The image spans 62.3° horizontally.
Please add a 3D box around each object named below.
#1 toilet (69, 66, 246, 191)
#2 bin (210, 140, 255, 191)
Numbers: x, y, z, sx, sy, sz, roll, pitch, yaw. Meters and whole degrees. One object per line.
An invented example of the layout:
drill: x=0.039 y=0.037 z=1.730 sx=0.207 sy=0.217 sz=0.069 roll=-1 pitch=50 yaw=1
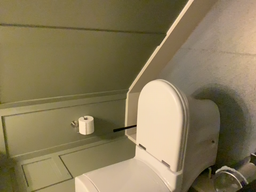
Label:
toilet: x=0.160 y=0.220 z=1.180 sx=0.400 sy=0.840 sz=0.660 roll=29 pitch=121 yaw=51
bin: x=0.620 y=0.390 z=1.110 sx=0.170 sy=0.340 sz=0.180 roll=25 pitch=118 yaw=52
